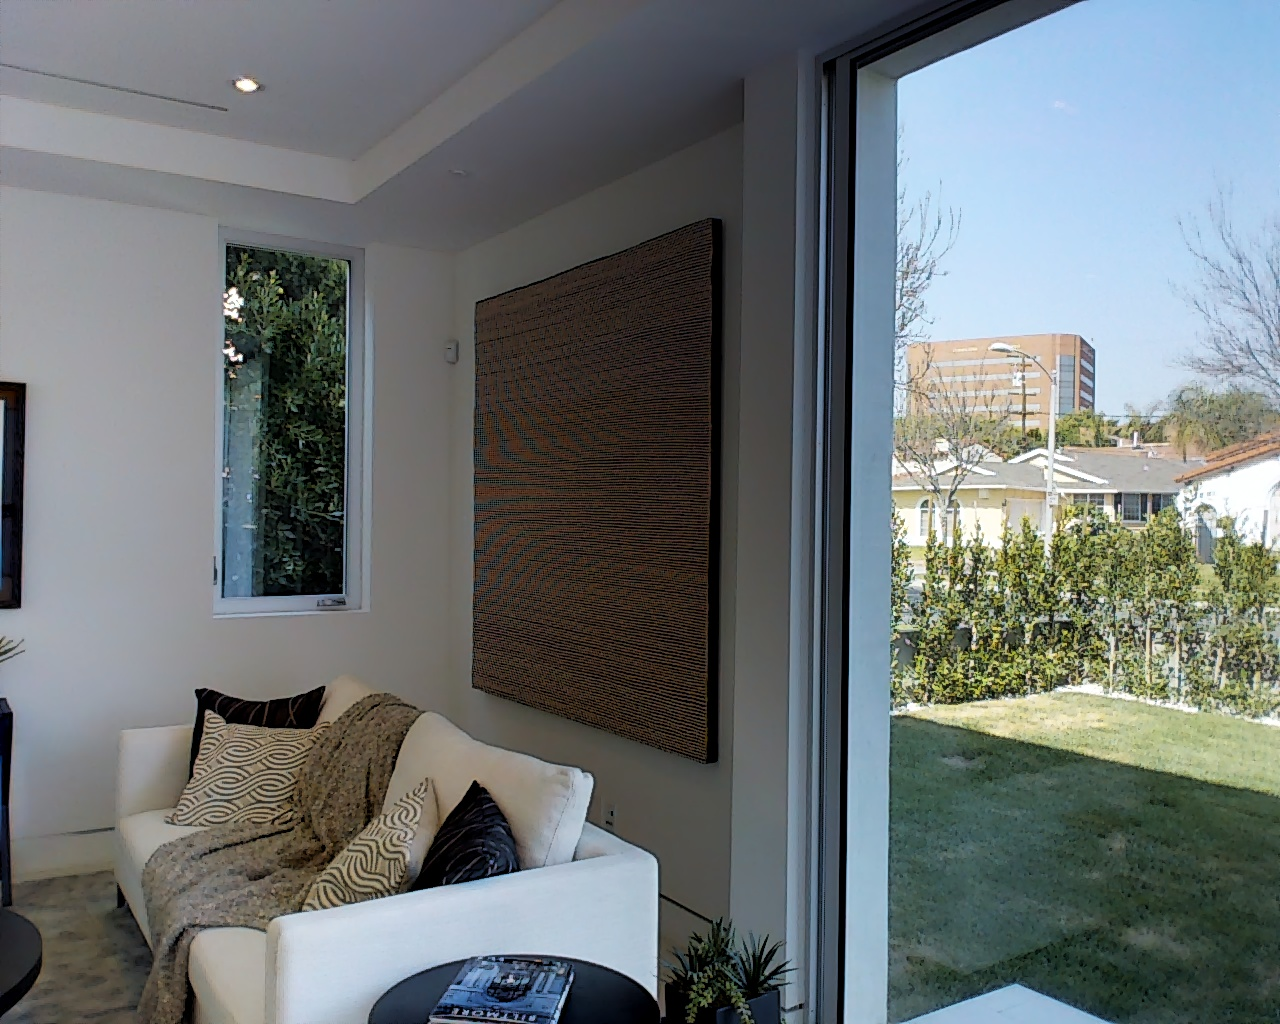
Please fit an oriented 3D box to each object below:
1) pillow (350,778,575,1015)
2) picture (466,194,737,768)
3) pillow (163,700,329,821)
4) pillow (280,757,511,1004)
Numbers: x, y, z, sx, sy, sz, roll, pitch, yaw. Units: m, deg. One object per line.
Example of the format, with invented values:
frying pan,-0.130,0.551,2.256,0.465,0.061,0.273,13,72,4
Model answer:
pillow,-0.430,0.930,2.690,0.360,0.390,0.460,1,0,24
picture,-0.260,-0.110,4.460,0.100,1.931,1.960,1,0,-33
pillow,-1.429,0.900,3.940,0.470,0.350,0.380,1,0,-1
pillow,-0.660,0.970,2.900,0.400,0.380,0.370,29,20,32
